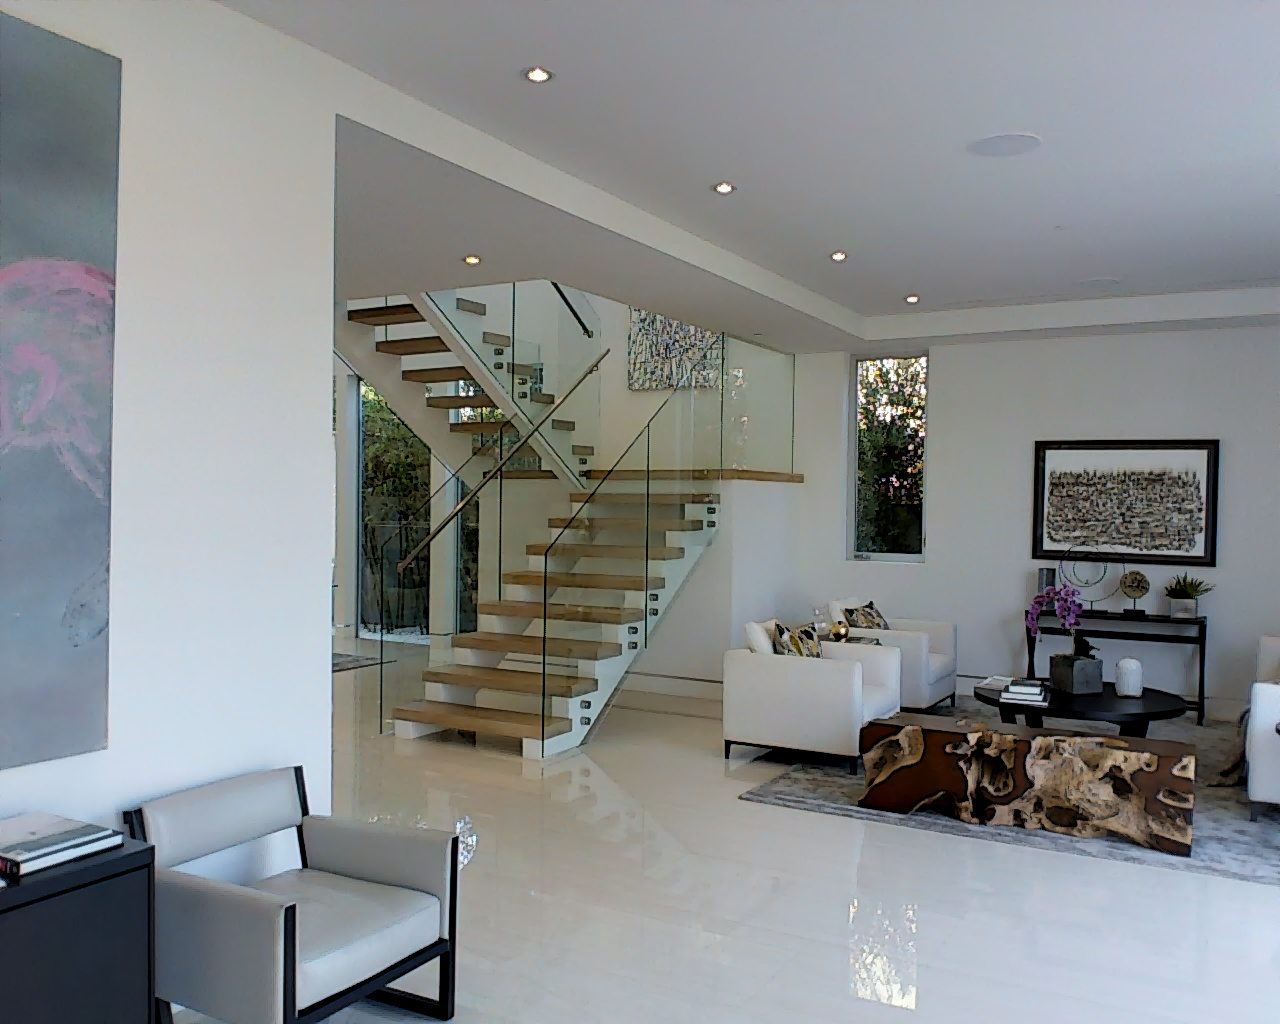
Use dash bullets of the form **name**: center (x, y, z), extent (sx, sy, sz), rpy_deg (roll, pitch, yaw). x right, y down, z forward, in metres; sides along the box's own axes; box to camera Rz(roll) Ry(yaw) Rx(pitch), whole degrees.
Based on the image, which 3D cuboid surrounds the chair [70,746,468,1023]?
- **chair**: center (-1.040, 1.131, 3.080), extent (0.760, 0.680, 0.760), rpy_deg (1, 1, 30)
